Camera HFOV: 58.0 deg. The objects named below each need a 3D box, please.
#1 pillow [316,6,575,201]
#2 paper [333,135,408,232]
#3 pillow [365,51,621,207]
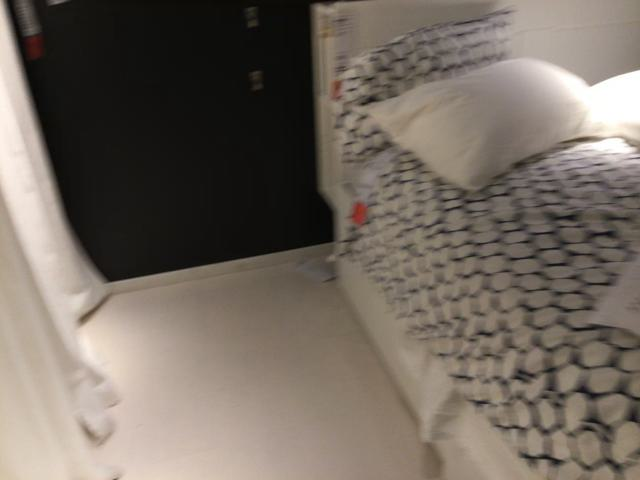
[{"bbox_3d":[0.400,-0.480,1.950,0.740,0.510,0.320,-10,27,-14],"label":"pillow"},{"bbox_3d":[0.160,-0.190,1.880,0.160,0.230,0.240,-10,27,-14],"label":"paper"},{"bbox_3d":[0.500,-0.360,1.690,0.620,0.260,0.410,-22,32,-33],"label":"pillow"}]
